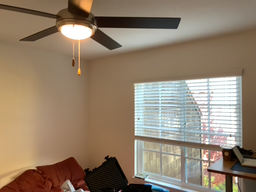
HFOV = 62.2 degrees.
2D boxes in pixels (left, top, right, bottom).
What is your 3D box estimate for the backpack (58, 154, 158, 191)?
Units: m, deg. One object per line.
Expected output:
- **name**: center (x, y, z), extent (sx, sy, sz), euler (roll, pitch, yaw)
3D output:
- **backpack**: center (-0.120, 0.930, 2.100), extent (0.790, 0.450, 0.910), euler (0, -2, 6)
